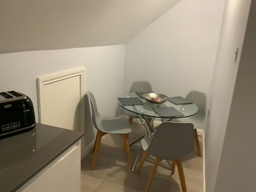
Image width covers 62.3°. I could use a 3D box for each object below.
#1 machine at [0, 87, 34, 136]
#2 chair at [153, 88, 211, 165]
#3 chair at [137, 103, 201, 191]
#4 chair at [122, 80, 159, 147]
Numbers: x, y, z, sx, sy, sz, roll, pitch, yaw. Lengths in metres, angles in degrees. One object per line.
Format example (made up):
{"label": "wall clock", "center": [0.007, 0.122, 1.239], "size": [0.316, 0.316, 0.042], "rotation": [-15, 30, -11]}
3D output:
{"label": "machine", "center": [-0.710, 0.080, 1.160], "size": [0.280, 0.170, 0.250], "rotation": [17, 22, 40]}
{"label": "chair", "center": [0.660, 0.350, 2.680], "size": [0.450, 0.790, 0.420], "rotation": [-7, 20, -34]}
{"label": "chair", "center": [0.340, 0.520, 2.000], "size": [0.420, 0.790, 0.450], "rotation": [3, 16, -3]}
{"label": "chair", "center": [0.150, 0.230, 2.970], "size": [0.420, 0.790, 0.450], "rotation": [4, 16, -1]}
